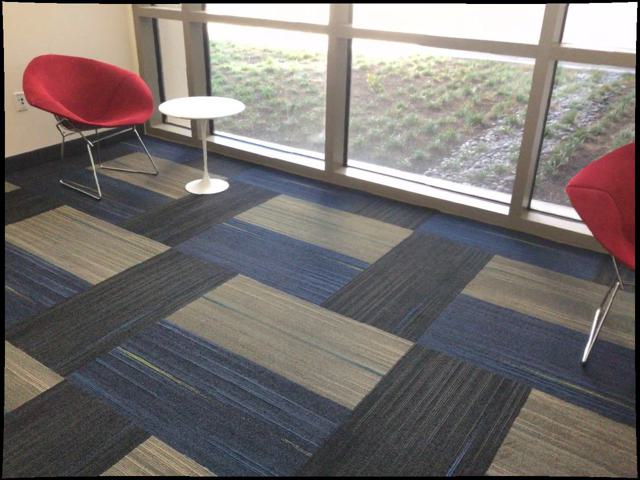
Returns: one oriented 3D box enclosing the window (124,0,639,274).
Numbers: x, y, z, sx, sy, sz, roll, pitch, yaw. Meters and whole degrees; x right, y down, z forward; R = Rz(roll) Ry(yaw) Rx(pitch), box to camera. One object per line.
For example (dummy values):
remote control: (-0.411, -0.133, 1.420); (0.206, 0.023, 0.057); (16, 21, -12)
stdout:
window: (0.269, -1.394, 3.110); (3.874, 2.375, 0.290); (19, 33, 31)
